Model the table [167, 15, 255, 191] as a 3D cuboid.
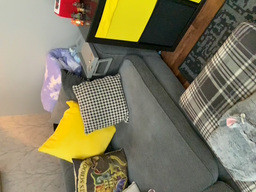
[{"bbox_3d":[0.700,0.170,1.010,0.960,0.310,0.610,60,137,33],"label":"table"}]
